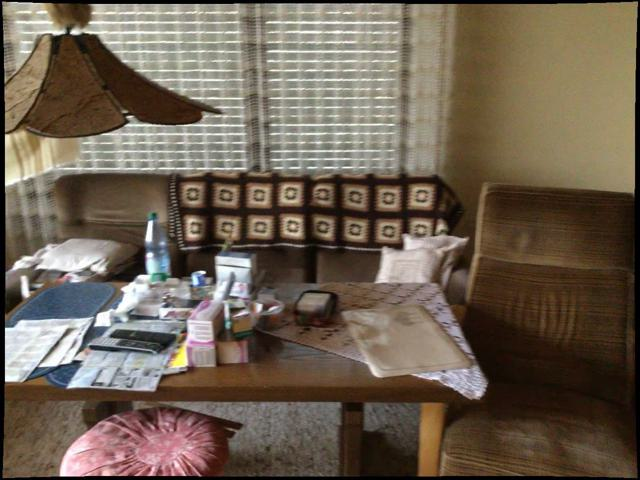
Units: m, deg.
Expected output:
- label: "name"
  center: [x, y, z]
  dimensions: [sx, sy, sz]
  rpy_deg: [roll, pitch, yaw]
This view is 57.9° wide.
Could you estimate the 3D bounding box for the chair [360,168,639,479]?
- label: "chair"
  center: [0.709, 0.390, 1.940]
  dimensions: [0.879, 1.011, 0.930]
  rpy_deg: [9, 21, 20]
